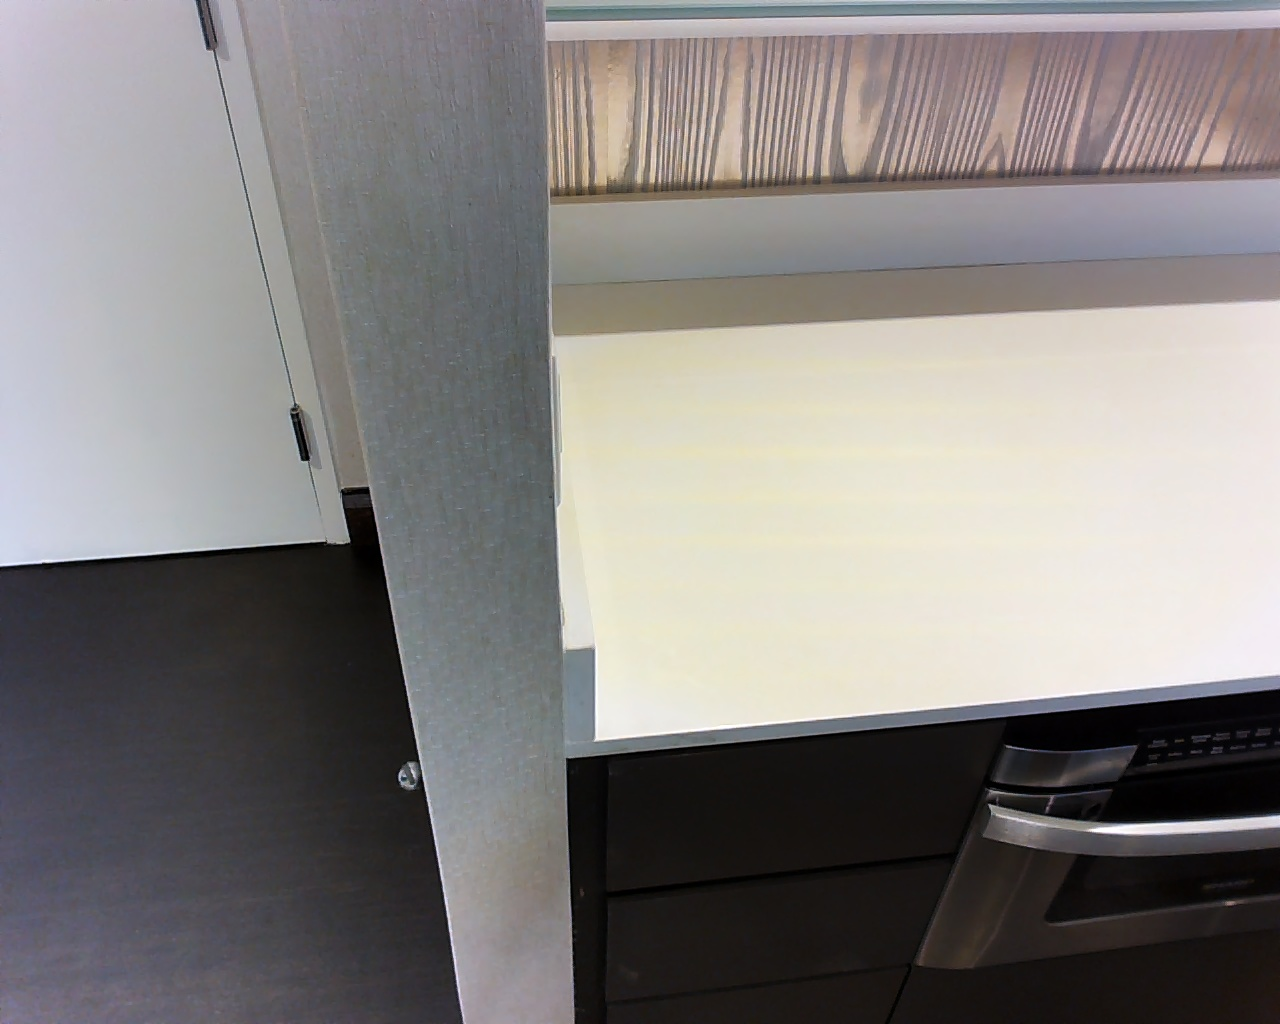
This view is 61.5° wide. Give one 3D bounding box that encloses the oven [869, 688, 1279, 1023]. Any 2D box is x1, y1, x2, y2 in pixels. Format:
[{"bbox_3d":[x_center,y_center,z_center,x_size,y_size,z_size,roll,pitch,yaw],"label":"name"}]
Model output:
[{"bbox_3d":[0.600,0.350,1.030,0.680,0.470,0.090,-4,42,-6],"label":"oven"}]
